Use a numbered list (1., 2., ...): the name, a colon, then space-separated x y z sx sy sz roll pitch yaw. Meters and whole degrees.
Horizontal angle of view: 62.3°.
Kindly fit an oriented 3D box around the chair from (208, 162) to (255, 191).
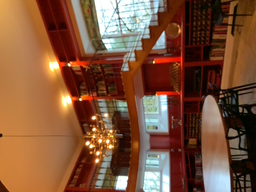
1. chair: 1.430 1.050 2.420 0.440 0.890 0.520 52 -141 -72

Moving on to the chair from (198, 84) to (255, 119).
1. chair: 1.570 0.070 3.260 0.520 0.890 0.440 -39 -53 -76

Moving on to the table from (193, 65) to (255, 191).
1. table: 1.640 1.050 3.380 2.190 0.830 2.230 -77 -18 -52

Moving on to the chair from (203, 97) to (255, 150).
1. chair: 1.470 0.350 2.670 0.440 0.890 0.520 73 -161 -54
